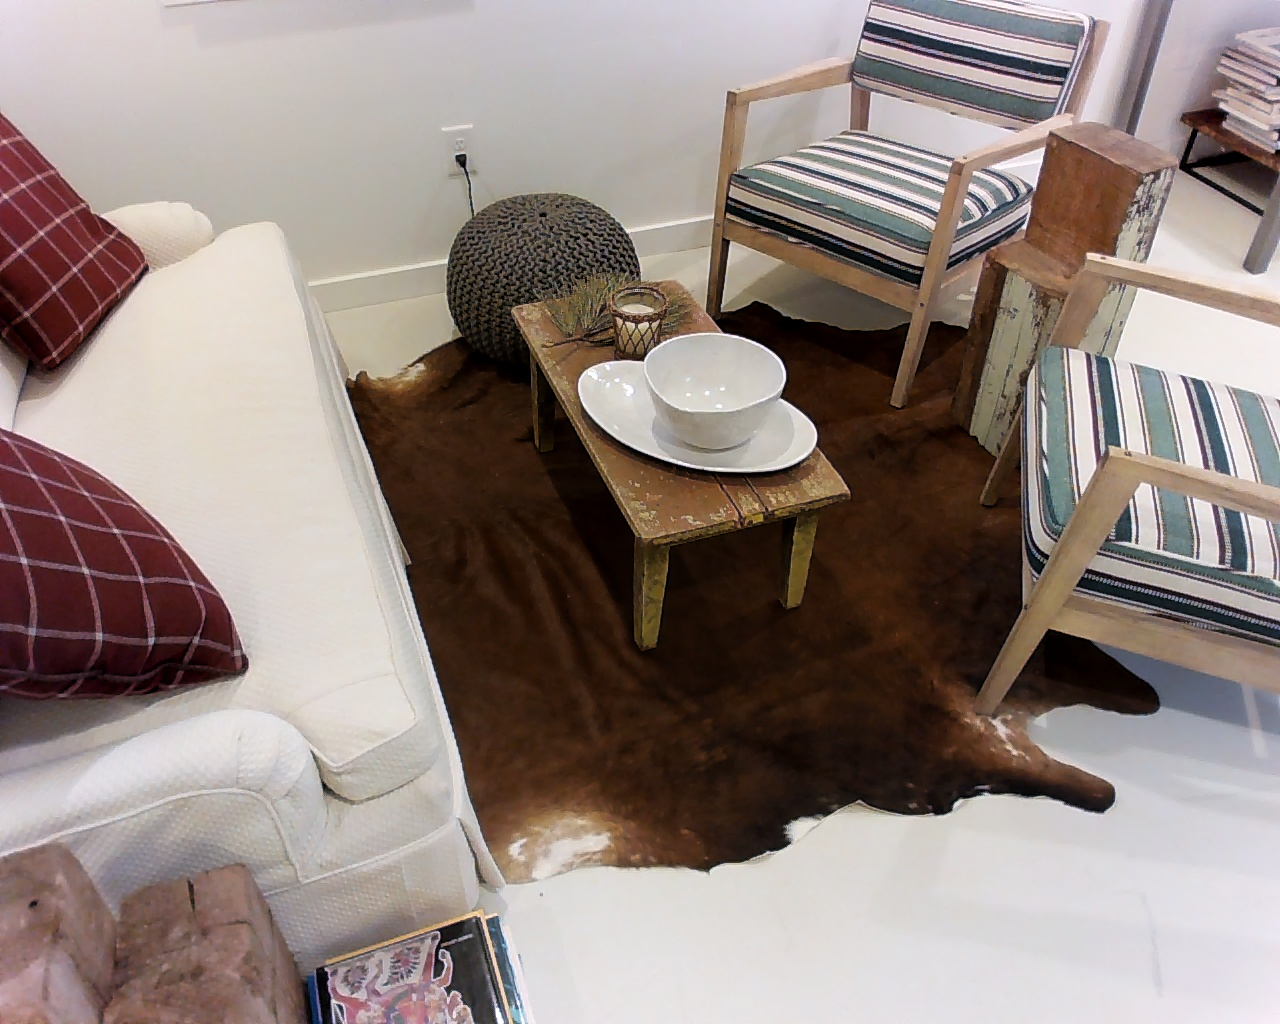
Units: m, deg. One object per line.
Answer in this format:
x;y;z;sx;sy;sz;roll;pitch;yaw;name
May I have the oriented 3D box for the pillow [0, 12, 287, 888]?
-1.020;-0.230;1.610;0.700;0.480;1.560;-13;43;-15;pillow
